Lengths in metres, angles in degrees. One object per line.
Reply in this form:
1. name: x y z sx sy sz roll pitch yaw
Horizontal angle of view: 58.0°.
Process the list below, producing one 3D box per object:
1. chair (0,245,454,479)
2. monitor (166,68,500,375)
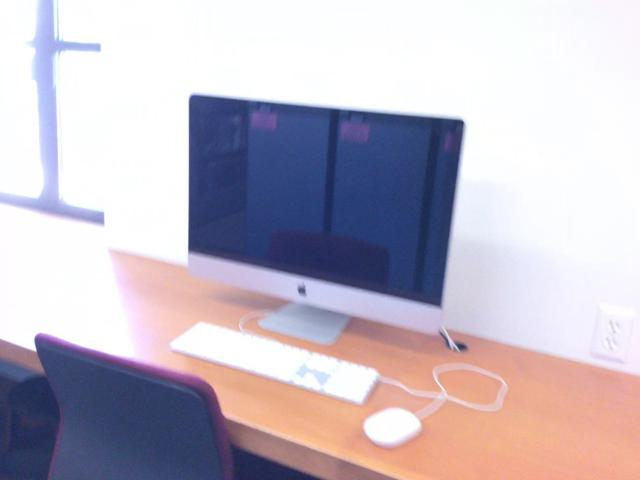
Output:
1. chair: -0.220 0.590 1.220 0.670 0.890 0.610 18 20 20
2. monitor: -0.020 -0.060 1.300 0.700 0.510 0.070 18 20 21
